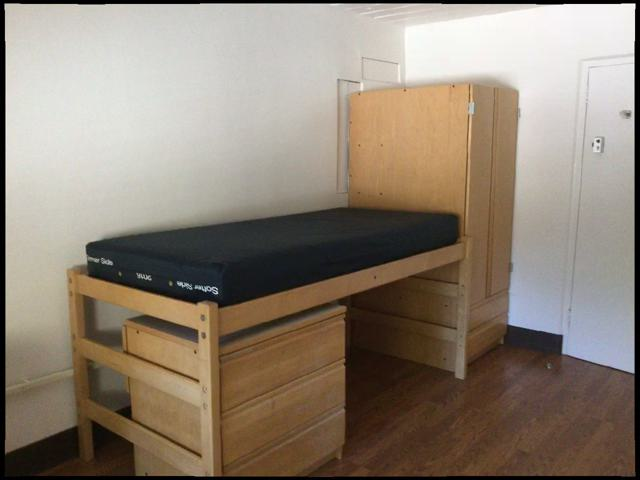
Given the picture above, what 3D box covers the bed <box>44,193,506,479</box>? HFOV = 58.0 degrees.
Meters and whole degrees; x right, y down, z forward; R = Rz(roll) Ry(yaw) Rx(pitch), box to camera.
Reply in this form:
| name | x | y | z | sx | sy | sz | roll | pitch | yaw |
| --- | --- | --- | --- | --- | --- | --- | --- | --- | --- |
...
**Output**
| name | x | y | z | sx | sy | sz | roll | pitch | yaw |
| --- | --- | --- | --- | --- | --- | --- | --- | --- | --- |
| bed | -0.070 | 0.411 | 3.160 | 1.129 | 1.072 | 2.268 | 10 | 15 | 43 |
